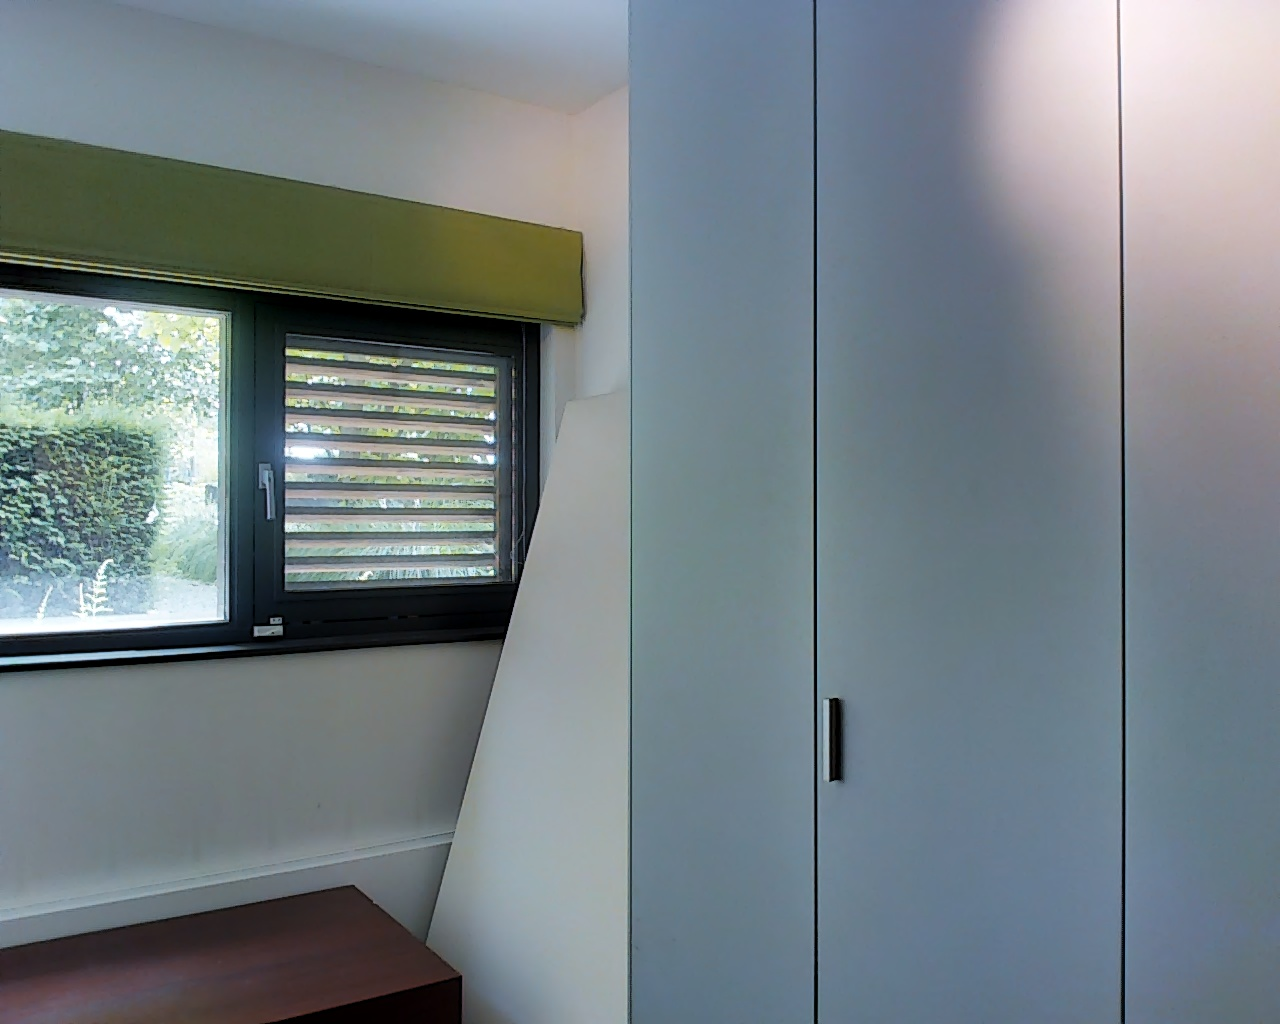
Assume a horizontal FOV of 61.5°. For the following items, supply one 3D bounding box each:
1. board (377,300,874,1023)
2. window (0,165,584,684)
[{"bbox_3d":[-0.120,0.500,2.750,0.650,1.790,1.300,0,-1,-34],"label":"board"},{"bbox_3d":[-1.440,-0.200,2.680,2.850,1.190,0.320,0,-1,-34],"label":"window"}]
